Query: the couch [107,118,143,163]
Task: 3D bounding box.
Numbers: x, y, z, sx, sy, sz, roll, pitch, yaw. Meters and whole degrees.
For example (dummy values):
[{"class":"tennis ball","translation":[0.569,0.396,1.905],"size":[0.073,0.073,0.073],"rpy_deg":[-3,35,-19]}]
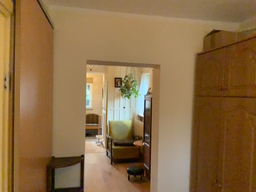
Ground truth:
[{"class":"couch","translation":[-0.100,1.100,5.450],"size":[0.750,0.990,0.720],"rpy_deg":[1,1,-12]}]
